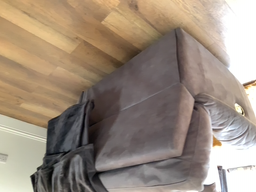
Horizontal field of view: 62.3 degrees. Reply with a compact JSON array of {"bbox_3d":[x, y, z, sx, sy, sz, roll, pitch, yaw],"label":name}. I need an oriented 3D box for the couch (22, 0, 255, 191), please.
[{"bbox_3d":[0.220,0.280,1.510,1.300,1.020,1.050,28,140,-34],"label":"couch"}]
